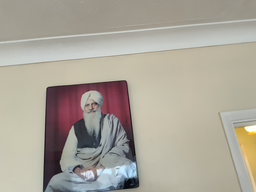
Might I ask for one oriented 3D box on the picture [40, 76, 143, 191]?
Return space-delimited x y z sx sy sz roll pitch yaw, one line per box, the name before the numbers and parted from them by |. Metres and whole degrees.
picture | -0.170 0.160 0.920 0.400 0.500 0.020 -6 -21 -4
